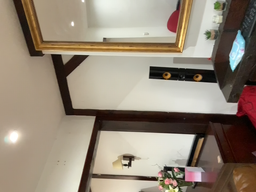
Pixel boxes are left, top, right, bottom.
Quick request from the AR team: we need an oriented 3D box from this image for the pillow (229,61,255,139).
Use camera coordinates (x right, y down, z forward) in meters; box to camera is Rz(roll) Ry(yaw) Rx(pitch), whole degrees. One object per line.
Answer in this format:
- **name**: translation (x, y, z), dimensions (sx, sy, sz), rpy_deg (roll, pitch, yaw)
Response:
- **pillow**: translation (1.210, 0.050, 1.980), dimensions (0.350, 0.220, 0.650), rpy_deg (-86, -3, -54)

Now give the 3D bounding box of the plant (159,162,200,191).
- **plant**: translation (0.630, 1.100, 2.700), dimensions (0.370, 0.410, 0.310), rpy_deg (-86, -3, -51)
